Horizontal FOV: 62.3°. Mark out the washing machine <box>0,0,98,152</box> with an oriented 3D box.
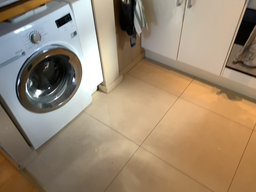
[{"bbox_3d":[-0.810,-0.300,1.520,0.890,0.940,0.620,28,53,27],"label":"washing machine"}]
